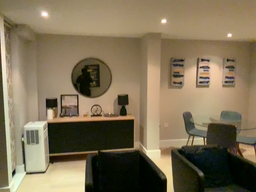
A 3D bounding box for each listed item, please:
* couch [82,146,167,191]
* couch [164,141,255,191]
[{"bbox_3d":[-0.090,1.010,2.160,0.730,0.740,0.690,-1,6,-13],"label":"couch"},{"bbox_3d":[0.910,1.010,2.420,0.720,0.710,0.790,-1,6,-13],"label":"couch"}]
